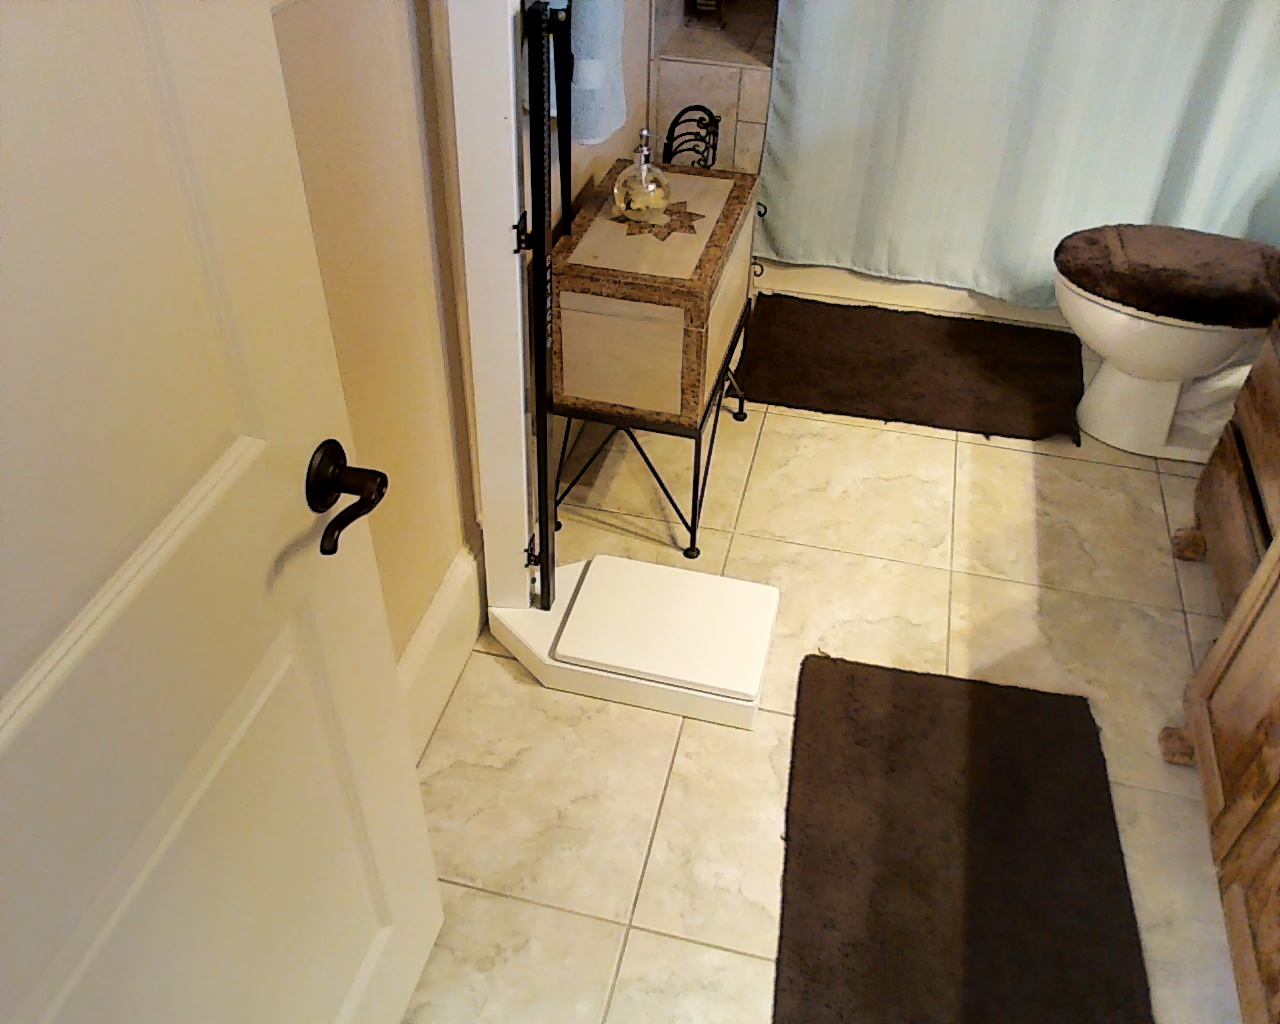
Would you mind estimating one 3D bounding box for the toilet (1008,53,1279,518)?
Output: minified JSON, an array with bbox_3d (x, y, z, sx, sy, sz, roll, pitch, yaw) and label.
[{"bbox_3d":[1.320,-0.480,2.360,0.800,0.800,0.500,10,42,10],"label":"toilet"}]
